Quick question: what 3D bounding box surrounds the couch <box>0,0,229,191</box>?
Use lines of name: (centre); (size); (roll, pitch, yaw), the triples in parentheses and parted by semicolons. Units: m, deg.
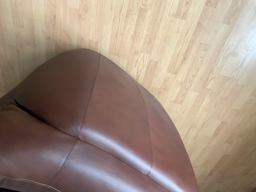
couch: (-0.220, 0.320, 1.160); (1.080, 0.960, 0.960); (39, 122, -22)
